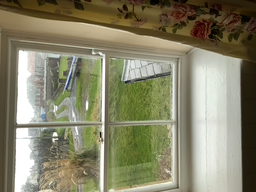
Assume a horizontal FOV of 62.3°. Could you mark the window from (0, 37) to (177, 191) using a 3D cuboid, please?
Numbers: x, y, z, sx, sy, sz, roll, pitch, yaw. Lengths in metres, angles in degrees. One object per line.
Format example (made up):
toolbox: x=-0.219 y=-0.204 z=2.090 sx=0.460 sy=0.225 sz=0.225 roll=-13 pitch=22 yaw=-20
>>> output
window: x=-0.170 y=0.160 z=1.280 sx=0.060 sy=1.080 sz=0.900 roll=176 pitch=95 yaw=-66
